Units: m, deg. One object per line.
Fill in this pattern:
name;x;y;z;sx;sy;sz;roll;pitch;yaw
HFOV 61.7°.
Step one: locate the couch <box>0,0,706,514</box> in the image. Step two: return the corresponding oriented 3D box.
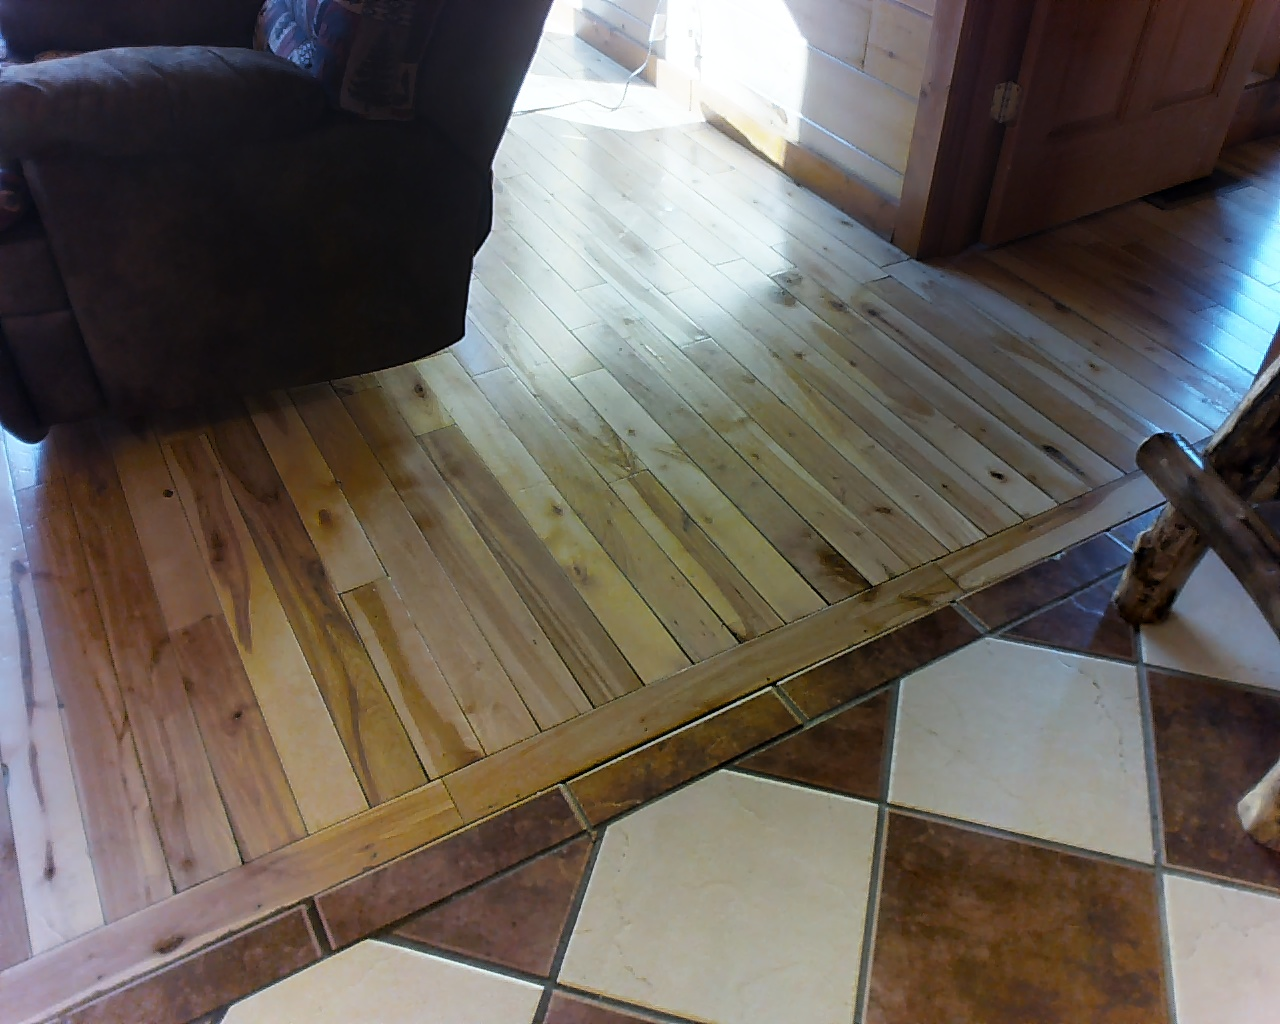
couch;-0.690;-0.920;1.930;1.270;1.160;1.050;-16;45;-18
